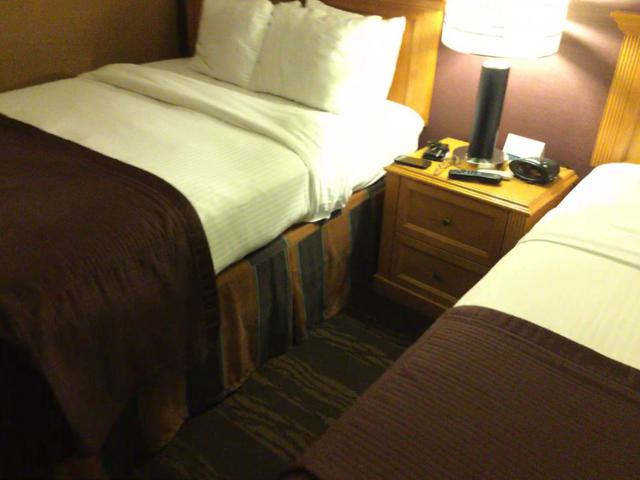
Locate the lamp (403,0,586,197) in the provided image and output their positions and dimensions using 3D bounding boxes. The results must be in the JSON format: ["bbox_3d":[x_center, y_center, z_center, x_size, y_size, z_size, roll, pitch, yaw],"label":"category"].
[{"bbox_3d":[0.620,-0.600,2.070,0.400,0.720,0.420,22,33,33],"label":"lamp"}]

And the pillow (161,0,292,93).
[{"bbox_3d":[-0.440,-0.940,2.680,0.590,0.370,0.250,22,33,33],"label":"pillow"}]

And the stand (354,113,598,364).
[{"bbox_3d":[0.590,-0.050,2.320,0.700,0.700,0.500,22,33,33],"label":"stand"}]

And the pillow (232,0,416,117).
[{"bbox_3d":[0.000,-0.810,2.460,0.660,0.380,0.390,22,33,33],"label":"pillow"}]
